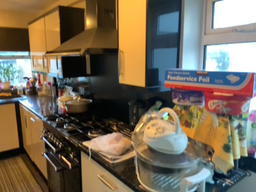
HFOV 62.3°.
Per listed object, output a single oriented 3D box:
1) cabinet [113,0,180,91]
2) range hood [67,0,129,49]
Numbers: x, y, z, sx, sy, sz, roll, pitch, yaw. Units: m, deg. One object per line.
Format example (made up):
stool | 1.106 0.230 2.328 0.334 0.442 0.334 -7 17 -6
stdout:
cabinet | 0.120 -0.450 1.500 0.290 0.760 0.370 -8 13 -37
range hood | -0.300 -0.790 1.990 0.310 0.660 0.610 -8 13 -36
